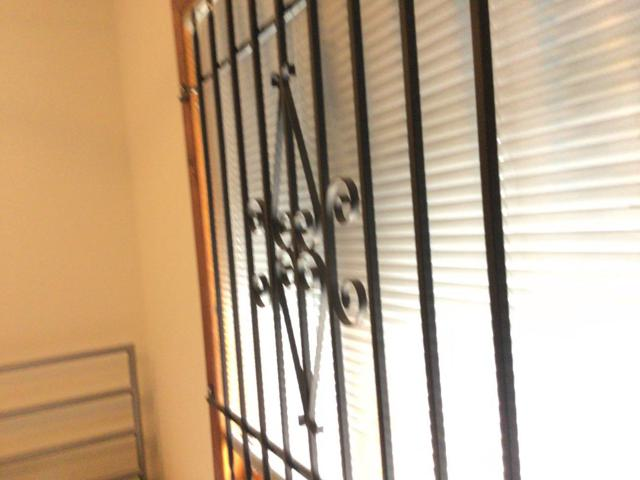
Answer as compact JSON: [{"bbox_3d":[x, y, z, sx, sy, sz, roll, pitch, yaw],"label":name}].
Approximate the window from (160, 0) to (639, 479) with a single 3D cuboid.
[{"bbox_3d":[0.010,0.040,0.960,0.160,1.350,1.350,-5,2,-27],"label":"window"}]
